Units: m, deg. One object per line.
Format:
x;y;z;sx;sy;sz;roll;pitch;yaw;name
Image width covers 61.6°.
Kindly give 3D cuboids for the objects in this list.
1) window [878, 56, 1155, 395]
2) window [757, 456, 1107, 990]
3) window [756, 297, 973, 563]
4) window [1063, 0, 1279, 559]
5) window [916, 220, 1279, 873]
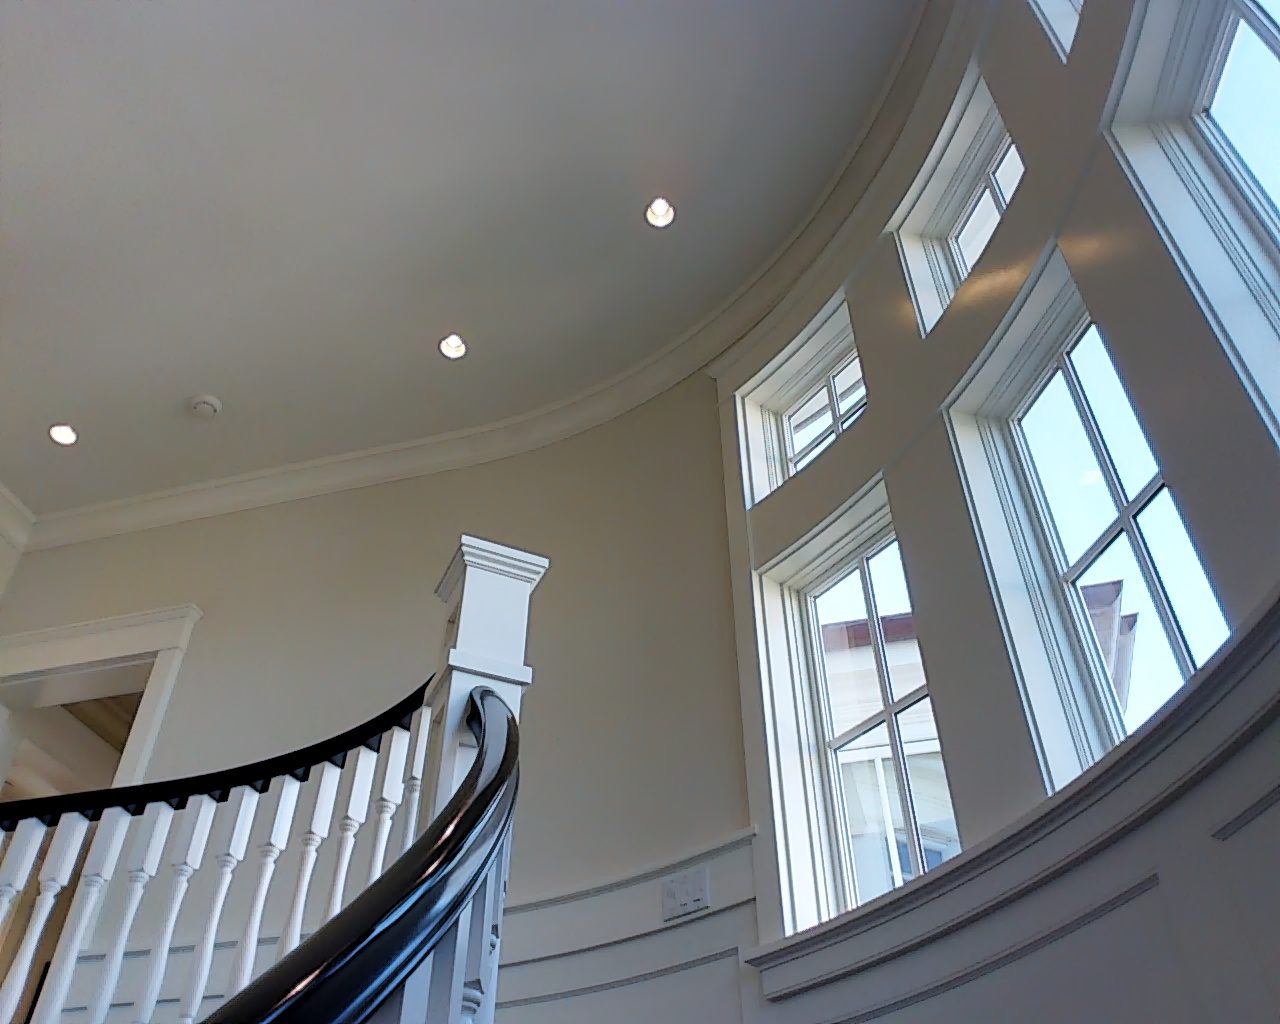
1.049;-0.831;3.140;0.350;0.640;0.650;12;-44;-13;window
0.720;0.550;2.970;0.430;1.230;0.630;21;-46;-21;window
0.749;-0.280;3.740;0.360;0.610;0.590;24;-49;-23;window
1.139;-0.590;1.730;0.440;1.260;0.630;-2;-43;3;window
1.039;0.030;2.350;0.410;1.250;0.650;10;-43;-10;window
